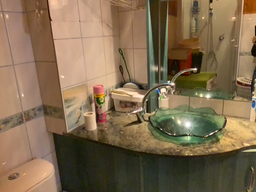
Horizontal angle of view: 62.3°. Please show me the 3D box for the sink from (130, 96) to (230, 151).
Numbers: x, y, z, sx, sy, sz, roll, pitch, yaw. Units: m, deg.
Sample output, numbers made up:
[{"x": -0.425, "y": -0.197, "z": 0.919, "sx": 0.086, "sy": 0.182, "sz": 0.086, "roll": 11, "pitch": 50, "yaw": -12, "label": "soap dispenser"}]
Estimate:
[{"x": 0.310, "y": 0.120, "z": 1.210, "sx": 0.440, "sy": 0.090, "sz": 0.420, "roll": 7, "pitch": 19, "yaw": 31, "label": "sink"}]
